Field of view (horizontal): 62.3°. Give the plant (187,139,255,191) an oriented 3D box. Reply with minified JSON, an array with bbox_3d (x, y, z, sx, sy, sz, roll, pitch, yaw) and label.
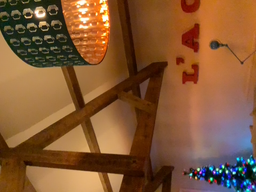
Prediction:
[{"bbox_3d":[1.920,1.320,3.810,0.620,1.630,0.780,-69,-26,-54],"label":"plant"}]
